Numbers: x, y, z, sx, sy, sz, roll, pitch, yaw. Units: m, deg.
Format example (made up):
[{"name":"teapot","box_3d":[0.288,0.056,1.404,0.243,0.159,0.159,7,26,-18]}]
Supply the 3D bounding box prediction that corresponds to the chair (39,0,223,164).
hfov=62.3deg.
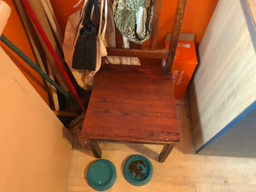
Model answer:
[{"name":"chair","box_3d":[0.020,-0.050,1.030,0.440,0.900,0.540,3,61,1]}]
